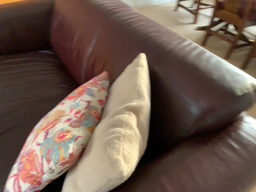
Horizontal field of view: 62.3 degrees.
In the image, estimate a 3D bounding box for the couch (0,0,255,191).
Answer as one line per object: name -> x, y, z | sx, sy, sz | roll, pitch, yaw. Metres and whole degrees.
couch -> -0.360, -0.030, 1.170 | 0.950, 0.770, 1.800 | -21, 46, -24
